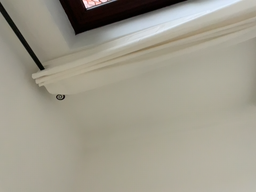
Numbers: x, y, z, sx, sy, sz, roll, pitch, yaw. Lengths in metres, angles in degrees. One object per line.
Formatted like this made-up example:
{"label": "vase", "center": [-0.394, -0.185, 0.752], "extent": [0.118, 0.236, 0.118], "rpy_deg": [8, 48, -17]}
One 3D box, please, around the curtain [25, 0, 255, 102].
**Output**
{"label": "curtain", "center": [0.320, -0.300, 1.240], "extent": [0.090, 1.860, 0.320], "rpy_deg": [-91, -15, -48]}
